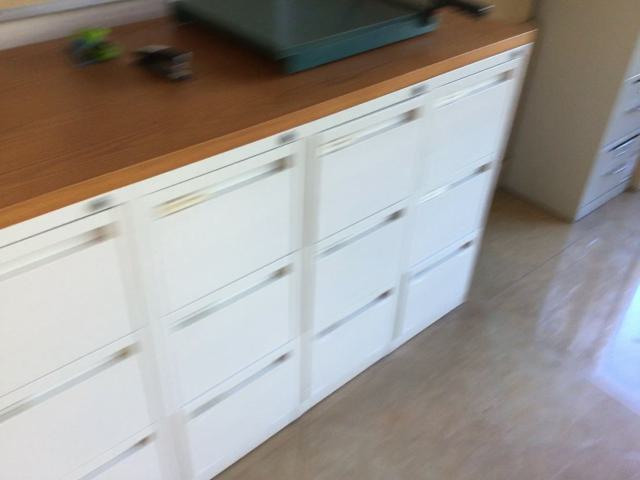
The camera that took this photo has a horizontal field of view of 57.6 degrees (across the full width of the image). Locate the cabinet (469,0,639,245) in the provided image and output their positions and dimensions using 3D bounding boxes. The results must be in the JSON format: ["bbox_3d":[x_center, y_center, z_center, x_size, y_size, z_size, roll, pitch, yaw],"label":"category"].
[{"bbox_3d":[1.110,-0.850,2.250,0.560,1.500,0.700,-28,42,-30],"label":"cabinet"}]

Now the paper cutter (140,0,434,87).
[{"bbox_3d":[-0.100,-0.590,1.490,0.480,0.120,0.600,-28,42,-30],"label":"paper cutter"}]

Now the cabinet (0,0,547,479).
[{"bbox_3d":[-0.550,0.100,1.390,2.310,1.120,0.790,-28,42,-30],"label":"cabinet"}]
